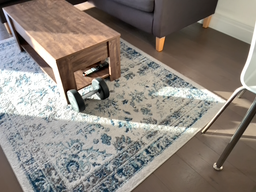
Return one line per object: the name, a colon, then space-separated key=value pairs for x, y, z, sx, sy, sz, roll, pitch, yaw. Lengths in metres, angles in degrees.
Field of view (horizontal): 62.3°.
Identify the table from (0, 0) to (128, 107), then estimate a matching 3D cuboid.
table: x=-0.570 y=-0.480 z=1.810 sx=0.550 sy=0.420 sz=1.070 roll=-33 pitch=54 yaw=-29
